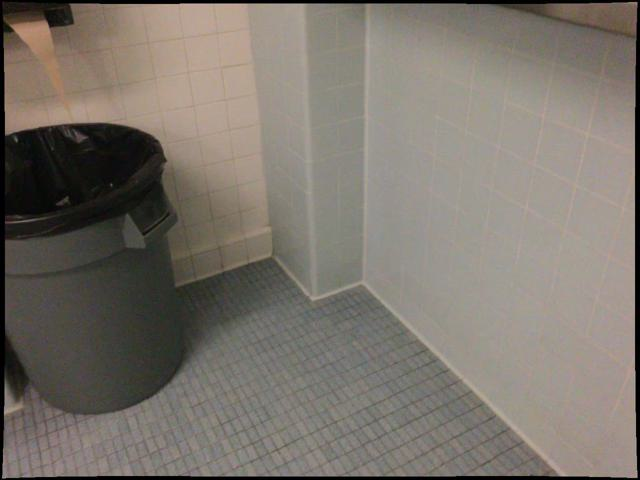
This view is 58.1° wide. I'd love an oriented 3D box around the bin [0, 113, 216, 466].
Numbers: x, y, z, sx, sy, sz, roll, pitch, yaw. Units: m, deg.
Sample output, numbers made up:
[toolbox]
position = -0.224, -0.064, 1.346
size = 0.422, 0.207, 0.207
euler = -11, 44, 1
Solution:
[bin]
position = -0.708, 0.100, 1.660
size = 0.569, 0.651, 0.590
euler = -18, 39, -24
